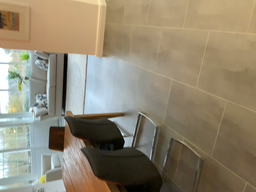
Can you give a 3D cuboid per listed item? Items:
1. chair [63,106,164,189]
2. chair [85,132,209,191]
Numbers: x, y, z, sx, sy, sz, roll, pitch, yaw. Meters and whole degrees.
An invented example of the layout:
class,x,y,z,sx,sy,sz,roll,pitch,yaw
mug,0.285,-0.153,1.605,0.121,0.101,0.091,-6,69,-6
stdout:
class,x,y,z,sx,sy,sz,roll,pitch,yaw
chair,-0.170,0.480,2.200,0.470,0.850,0.550,42,127,52
chair,0.130,0.680,1.710,0.460,0.810,0.540,34,121,55
